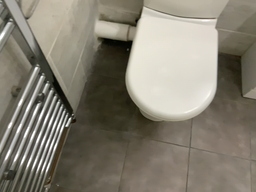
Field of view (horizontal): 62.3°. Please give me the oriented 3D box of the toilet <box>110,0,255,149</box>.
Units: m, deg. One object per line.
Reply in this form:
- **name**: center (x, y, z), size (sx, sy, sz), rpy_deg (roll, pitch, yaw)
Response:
- **toilet**: center (0.200, -0.220, 0.970), size (0.390, 0.800, 0.690), rpy_deg (10, 64, 3)
